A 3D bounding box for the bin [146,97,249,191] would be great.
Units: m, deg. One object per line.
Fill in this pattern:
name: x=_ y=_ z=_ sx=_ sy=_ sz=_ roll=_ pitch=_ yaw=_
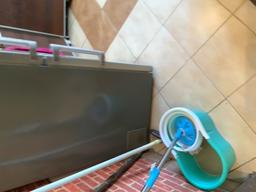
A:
bin: x=0.370 y=0.280 z=1.200 sx=0.310 sy=0.220 sz=0.450 roll=-43 pitch=63 yaw=36
